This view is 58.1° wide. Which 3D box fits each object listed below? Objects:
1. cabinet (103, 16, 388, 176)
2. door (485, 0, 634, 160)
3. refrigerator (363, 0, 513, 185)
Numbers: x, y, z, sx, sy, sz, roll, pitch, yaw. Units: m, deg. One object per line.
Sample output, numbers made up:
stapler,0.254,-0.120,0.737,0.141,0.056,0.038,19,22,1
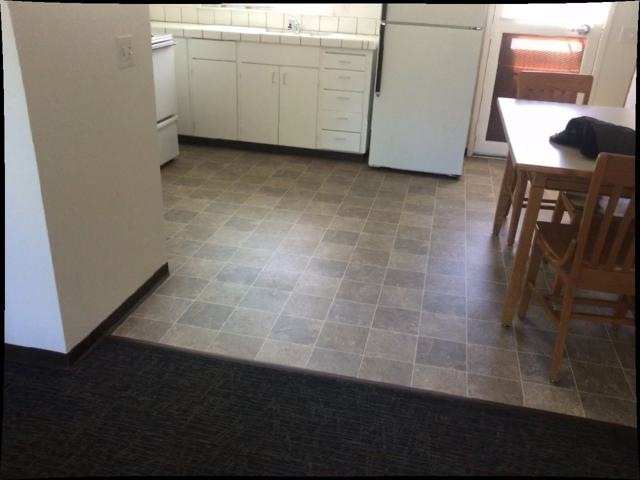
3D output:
cabinet,-0.599,-1.132,4.490,2.147,0.971,0.230,9,28,11
door,1.837,-1.593,4.370,0.809,1.862,0.320,9,28,11
refrigerator,0.869,-1.372,4.210,0.839,1.622,0.890,9,28,11
